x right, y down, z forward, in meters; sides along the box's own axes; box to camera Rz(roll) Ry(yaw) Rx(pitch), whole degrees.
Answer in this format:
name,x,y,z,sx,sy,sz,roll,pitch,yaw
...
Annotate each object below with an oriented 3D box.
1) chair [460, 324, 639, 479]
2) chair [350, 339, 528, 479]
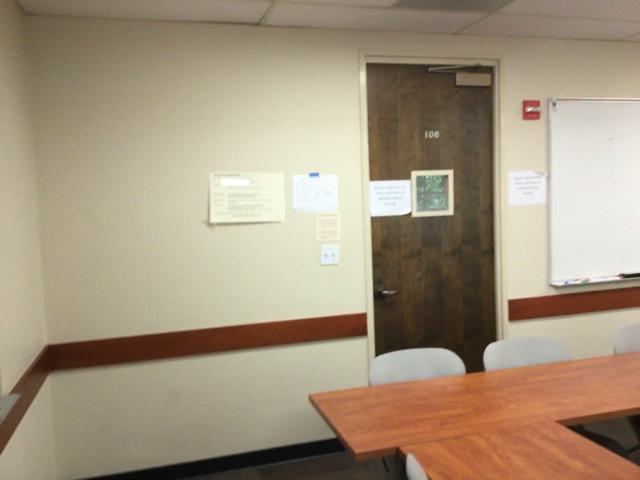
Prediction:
name,x,y,z,sx,sy,sz,roll,pitch,yaw
chair,1.050,0.880,2.510,0.510,0.840,0.690,-8,4,-13
chair,0.470,0.730,2.420,0.500,0.450,0.540,-8,4,-13
